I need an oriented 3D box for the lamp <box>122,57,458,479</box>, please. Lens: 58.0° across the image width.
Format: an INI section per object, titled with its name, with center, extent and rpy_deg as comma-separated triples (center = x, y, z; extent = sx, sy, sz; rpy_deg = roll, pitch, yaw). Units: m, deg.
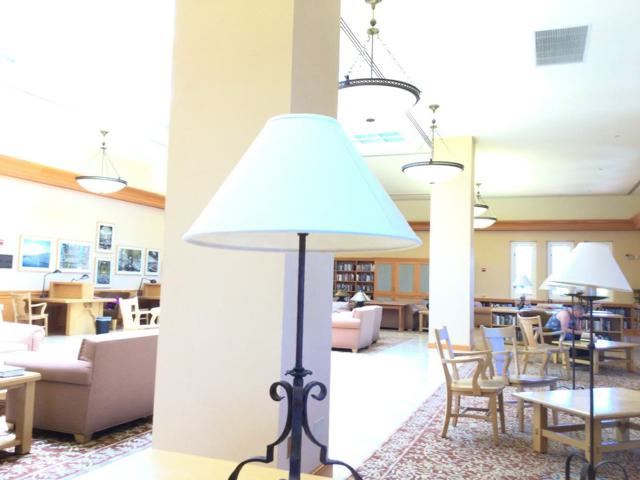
[lamp]
center = -0.010, 0.160, 1.130
extent = 0.480, 0.820, 0.490
rpy_deg = 0, -6, 20
